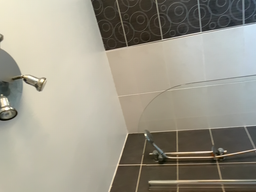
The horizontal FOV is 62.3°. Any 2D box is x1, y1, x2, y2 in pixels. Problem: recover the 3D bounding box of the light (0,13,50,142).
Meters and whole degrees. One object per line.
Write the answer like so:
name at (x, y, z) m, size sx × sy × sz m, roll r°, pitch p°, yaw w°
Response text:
light at (-0.450, -0.080, 0.710) m, size 0.130 × 0.330 × 0.360 m, roll -10°, pitch 23°, yaw 8°
